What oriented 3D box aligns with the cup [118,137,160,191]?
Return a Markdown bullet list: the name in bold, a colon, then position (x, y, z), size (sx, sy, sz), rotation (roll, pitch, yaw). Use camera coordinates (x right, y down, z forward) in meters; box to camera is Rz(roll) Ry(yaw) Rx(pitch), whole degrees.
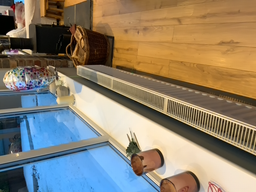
- **cup**: position (0.050, 0.350, 1.090), size (0.220, 0.090, 0.190), rotation (21, 112, 53)
